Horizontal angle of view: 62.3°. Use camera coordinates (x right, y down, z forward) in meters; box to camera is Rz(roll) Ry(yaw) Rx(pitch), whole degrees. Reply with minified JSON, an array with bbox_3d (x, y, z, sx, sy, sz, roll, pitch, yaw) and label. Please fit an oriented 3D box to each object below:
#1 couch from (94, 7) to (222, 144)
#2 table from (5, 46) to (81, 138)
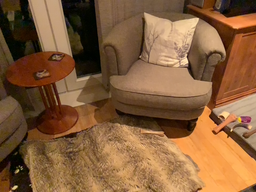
[{"bbox_3d":[0.260,-0.210,1.710,0.740,0.720,0.740,10,40,14],"label":"couch"},{"bbox_3d":[-0.640,-0.040,1.640,0.390,0.500,0.390,-16,41,-18],"label":"table"}]
